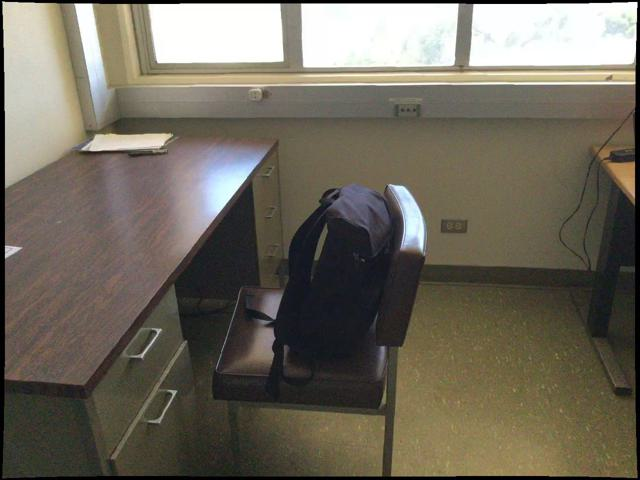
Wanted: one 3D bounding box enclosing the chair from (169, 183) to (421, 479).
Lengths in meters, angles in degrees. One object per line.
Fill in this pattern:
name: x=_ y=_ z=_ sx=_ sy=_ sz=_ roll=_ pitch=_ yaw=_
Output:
chair: x=-0.010 y=0.301 z=1.710 sx=0.579 sy=0.792 sz=0.540 roll=1 pitch=27 yaw=8
